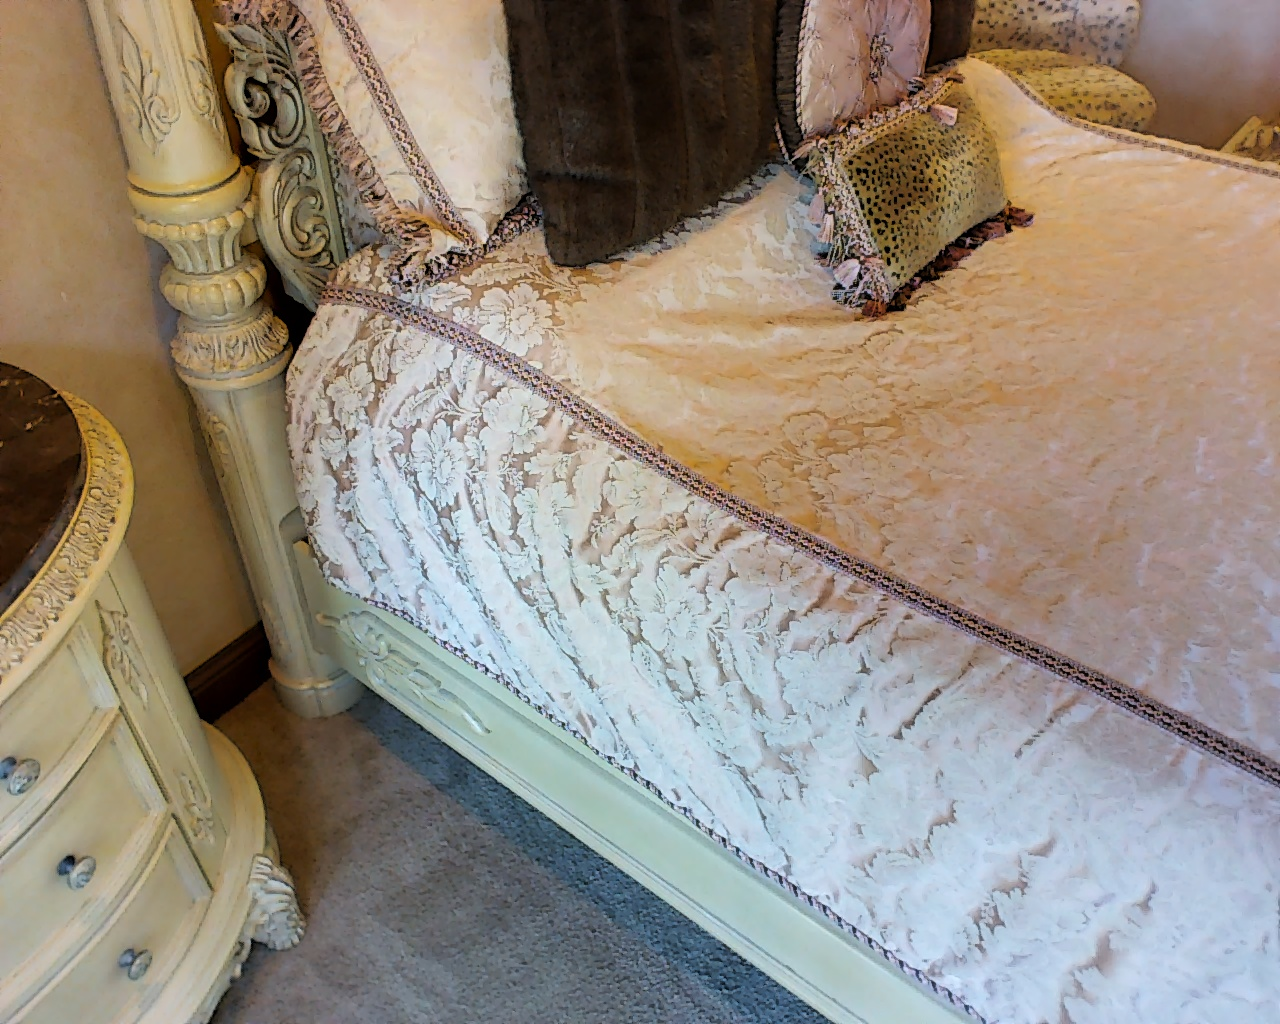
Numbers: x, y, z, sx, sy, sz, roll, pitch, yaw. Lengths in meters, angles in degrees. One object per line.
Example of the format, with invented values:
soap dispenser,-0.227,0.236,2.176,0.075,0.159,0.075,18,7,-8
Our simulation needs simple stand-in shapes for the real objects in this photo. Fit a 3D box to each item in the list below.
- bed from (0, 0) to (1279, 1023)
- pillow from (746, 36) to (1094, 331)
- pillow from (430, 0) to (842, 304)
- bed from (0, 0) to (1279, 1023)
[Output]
bed,0.740,-0.440,1.260,2.450,2.260,1.880,25,47,26
pillow,0.430,-0.500,1.610,0.500,0.260,0.180,-38,94,-38
pillow,0.020,-0.620,1.380,0.260,0.470,0.500,37,51,14
bed,0.730,-0.420,1.260,2.210,2.190,1.800,25,47,26
